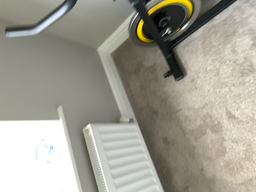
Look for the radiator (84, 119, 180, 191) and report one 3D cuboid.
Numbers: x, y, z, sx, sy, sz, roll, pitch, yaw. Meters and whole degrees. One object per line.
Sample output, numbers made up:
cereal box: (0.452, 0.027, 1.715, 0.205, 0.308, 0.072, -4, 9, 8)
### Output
radiator: (0.120, 0.630, 1.280, 0.120, 0.570, 1.000, -33, 66, 32)
